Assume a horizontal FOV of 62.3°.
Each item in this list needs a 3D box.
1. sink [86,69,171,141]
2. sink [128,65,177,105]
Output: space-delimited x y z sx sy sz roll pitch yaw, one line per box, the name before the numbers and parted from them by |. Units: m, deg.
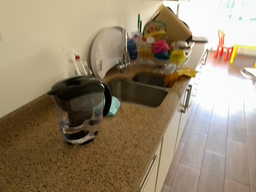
sink | 0.010 0.030 1.390 0.420 0.230 0.370 15 31 20
sink | 0.180 -0.090 1.580 0.300 0.180 0.190 15 31 20
